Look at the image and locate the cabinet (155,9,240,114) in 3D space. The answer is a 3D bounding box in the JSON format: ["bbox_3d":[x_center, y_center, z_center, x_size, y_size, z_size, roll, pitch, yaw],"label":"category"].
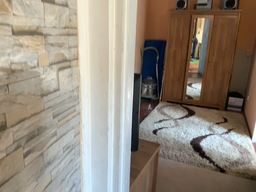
[{"bbox_3d":[1.360,-0.720,4.380,1.300,1.890,0.630,9,18,18],"label":"cabinet"}]
